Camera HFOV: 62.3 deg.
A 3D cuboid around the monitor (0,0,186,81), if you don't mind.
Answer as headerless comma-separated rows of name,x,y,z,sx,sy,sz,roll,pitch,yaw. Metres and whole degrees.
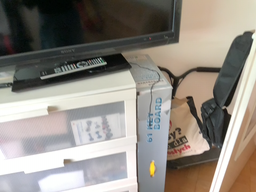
monitor,-0.230,-0.380,0.700,0.940,0.620,0.050,-11,34,-14
